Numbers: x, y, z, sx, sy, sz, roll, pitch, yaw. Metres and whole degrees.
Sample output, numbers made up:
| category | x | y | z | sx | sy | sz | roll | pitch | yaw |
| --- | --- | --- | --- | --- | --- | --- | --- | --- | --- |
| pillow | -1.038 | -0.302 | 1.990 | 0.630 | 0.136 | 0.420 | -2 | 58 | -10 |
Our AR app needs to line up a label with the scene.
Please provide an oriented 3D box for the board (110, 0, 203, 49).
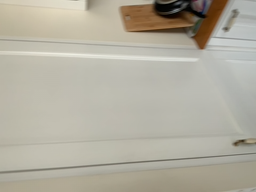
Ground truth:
| category | x | y | z | sx | sy | sz | roll | pitch | yaw |
| --- | --- | --- | --- | --- | --- | --- | --- | --- | --- |
| board | 0.130 | -0.500 | 1.230 | 0.160 | 0.420 | 0.470 | 107 | 159 | -51 |
